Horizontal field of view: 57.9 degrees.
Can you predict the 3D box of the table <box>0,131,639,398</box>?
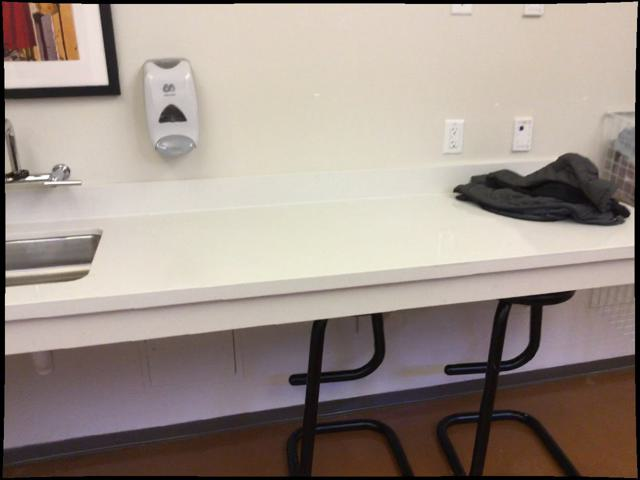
[{"bbox_3d":[-0.090,0.000,1.630,2.308,0.360,0.630,-6,21,-11],"label":"table"}]
